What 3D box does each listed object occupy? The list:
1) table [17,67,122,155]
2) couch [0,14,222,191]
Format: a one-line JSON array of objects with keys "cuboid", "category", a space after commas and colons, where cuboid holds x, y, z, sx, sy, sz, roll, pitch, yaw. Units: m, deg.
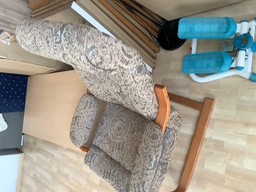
[{"cuboid": [-0.660, 0.120, 2.170, 1.230, 0.400, 0.670, 1, 85, 43], "category": "table"}, {"cuboid": [-0.120, 0.160, 1.250, 0.750, 1.040, 0.870, 18, 97, 43], "category": "couch"}]
